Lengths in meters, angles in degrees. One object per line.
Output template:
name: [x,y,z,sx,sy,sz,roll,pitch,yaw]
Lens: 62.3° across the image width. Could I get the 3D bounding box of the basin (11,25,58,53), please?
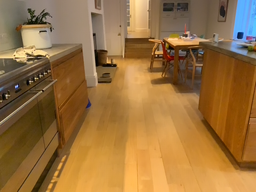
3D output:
basin: [-0.970,-0.620,2.260,0.290,0.260,0.410,0,20,0]
